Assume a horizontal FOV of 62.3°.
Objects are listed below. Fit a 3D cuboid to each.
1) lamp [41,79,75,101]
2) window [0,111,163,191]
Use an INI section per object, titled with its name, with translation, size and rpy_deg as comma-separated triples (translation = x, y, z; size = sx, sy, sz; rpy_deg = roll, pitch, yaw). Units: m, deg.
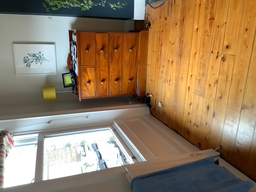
[lamp]
translation = -1.010, -0.100, 3.050
size = 0.340, 0.440, 0.220
rpy_deg = -143, 52, -64
[window]
translation = -0.850, 0.530, 2.080
size = 1.180, 2.030, 0.240
rpy_deg = -146, 55, -65
